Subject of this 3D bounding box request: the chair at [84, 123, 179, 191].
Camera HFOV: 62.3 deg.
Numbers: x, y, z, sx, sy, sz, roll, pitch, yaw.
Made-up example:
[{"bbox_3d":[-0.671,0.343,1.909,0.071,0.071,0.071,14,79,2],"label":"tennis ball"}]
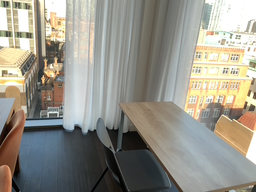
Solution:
[{"bbox_3d":[-0.040,0.680,1.550,0.480,0.790,0.500,-1,22,-20],"label":"chair"}]
